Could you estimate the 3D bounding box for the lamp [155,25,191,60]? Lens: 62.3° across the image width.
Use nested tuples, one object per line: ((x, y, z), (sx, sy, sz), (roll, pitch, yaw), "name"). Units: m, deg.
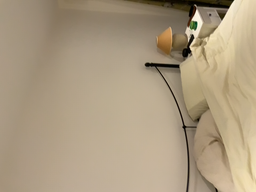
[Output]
((0.500, -0.600, 2.410), (0.290, 0.310, 0.230), (98, 172, -49), "lamp")
